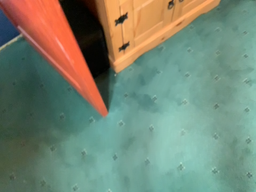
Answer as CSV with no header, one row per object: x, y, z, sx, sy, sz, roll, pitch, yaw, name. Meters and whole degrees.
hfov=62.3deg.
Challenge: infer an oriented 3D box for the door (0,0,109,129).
-0.440,-0.470,0.420,0.050,2.070,0.830,-40,73,-12,door
